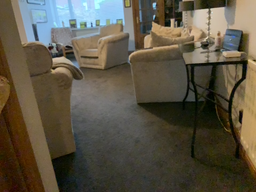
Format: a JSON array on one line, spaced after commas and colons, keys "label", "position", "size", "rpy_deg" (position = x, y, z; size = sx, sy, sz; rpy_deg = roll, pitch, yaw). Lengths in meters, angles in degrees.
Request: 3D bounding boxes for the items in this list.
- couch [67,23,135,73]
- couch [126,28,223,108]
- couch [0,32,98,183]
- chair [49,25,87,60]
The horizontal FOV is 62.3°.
[{"label": "couch", "position": [-0.650, -1.210, 5.170], "size": [1.220, 0.950, 0.970], "rpy_deg": [13, 27, 39]}, {"label": "couch", "position": [0.660, -0.590, 3.360], "size": [1.010, 0.730, 2.120], "rpy_deg": [-1, 21, 9]}, {"label": "couch", "position": [-1.080, 0.010, 1.870], "size": [1.220, 0.970, 1.000], "rpy_deg": [-16, 23, -27]}, {"label": "chair", "position": [-1.900, -1.730, 6.710], "size": [0.730, 0.930, 0.890], "rpy_deg": [-19, 25, -34]}]
